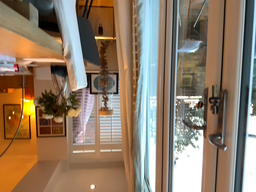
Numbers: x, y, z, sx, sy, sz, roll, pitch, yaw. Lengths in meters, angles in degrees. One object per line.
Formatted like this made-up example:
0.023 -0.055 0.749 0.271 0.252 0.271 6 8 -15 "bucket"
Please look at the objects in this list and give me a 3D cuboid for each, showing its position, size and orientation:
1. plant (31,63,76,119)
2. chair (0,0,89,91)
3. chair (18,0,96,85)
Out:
-0.820 -0.060 2.370 0.410 0.600 0.170 0 -174 -2 "plant"
-0.560 -0.540 1.310 0.570 0.980 0.480 -1 -174 -6 "chair"
-0.600 -0.610 1.940 0.570 0.980 0.480 -1 -174 -6 "chair"
